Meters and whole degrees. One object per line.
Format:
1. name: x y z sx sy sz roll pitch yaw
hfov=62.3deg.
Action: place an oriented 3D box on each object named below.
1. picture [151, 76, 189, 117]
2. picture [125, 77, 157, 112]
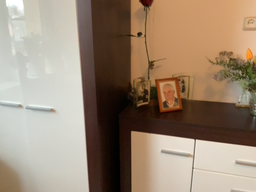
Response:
1. picture: 0.270 -0.010 1.340 0.190 0.170 0.270 6 18 19
2. picture: 0.090 -0.020 1.380 0.140 0.150 0.250 6 18 17
